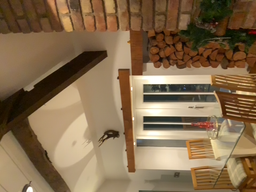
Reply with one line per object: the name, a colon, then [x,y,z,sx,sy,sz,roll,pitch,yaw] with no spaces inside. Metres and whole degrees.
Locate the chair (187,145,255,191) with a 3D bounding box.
chair: [1.450,1.080,3.100,0.430,1.000,0.590,-86,-5,-47]

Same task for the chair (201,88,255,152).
chair: [1.410,0.270,2.350,0.440,0.980,0.570,-86,-5,-48]
